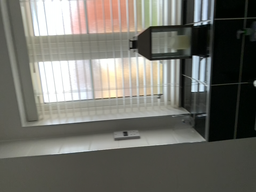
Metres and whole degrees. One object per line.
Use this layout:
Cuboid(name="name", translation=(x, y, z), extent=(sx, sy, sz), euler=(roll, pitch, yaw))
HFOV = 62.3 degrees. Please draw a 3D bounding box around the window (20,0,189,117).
Cuboid(name="window", translation=(-0.110, -0.290, 1.350), extent=(0.080, 0.990, 0.780), euler=(-119, 26, -77))
